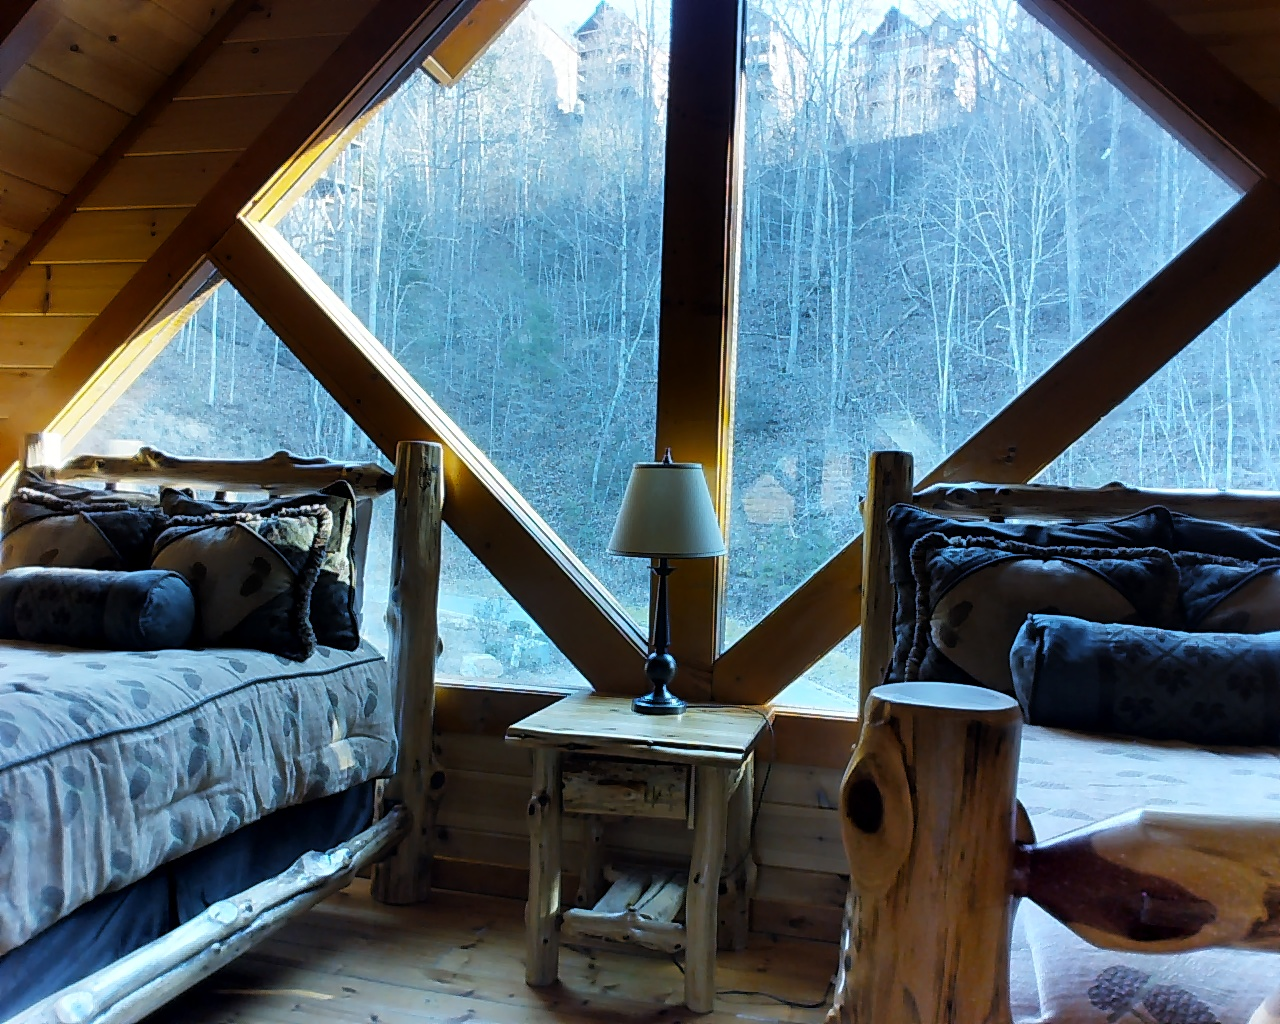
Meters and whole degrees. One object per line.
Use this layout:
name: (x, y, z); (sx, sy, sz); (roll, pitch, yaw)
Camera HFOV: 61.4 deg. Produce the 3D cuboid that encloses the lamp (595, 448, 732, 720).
lamp: (0.070, 0.180, 2.930); (0.290, 0.690, 0.300); (2, 1, 15)
